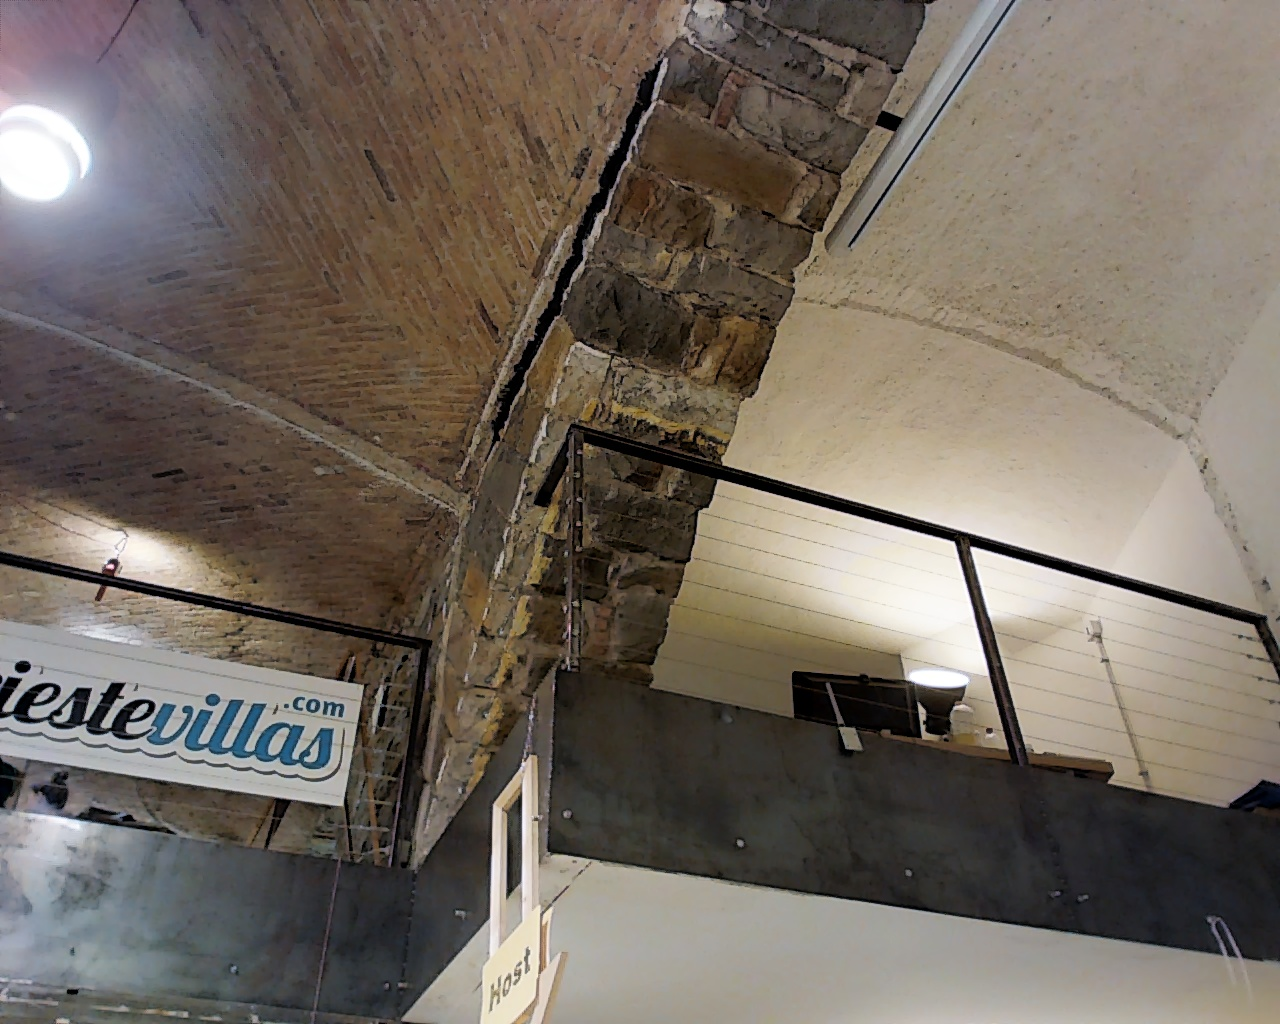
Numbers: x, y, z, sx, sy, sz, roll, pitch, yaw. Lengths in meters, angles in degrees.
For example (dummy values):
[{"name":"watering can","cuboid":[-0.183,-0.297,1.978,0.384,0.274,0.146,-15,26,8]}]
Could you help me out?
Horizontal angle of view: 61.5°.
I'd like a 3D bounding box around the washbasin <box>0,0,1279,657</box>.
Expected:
[{"name":"washbasin","cuboid":[1.520,-2.691,2.340,9.287,0.910,9.351,0,-41,-1]}]
